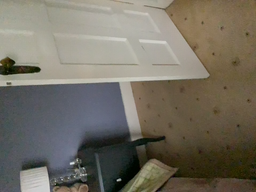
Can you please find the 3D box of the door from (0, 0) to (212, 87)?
[{"bbox_3d":[-0.430,-0.420,1.200,0.040,2.010,0.860,-56,47,47],"label":"door"}]
